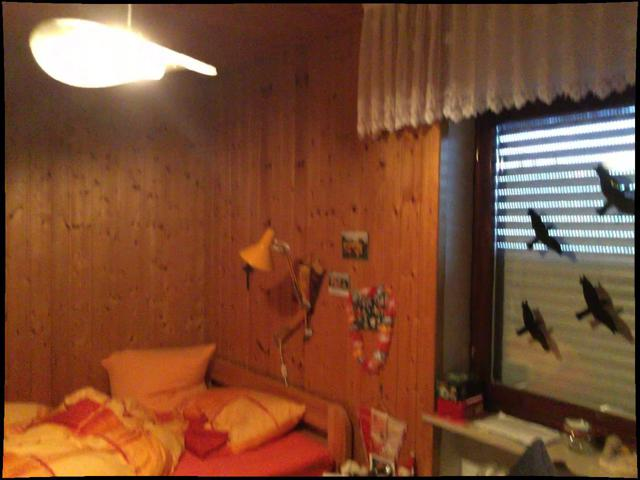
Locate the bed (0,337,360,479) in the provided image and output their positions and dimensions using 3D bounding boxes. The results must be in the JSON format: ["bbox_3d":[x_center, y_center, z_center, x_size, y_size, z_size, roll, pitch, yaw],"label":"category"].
[{"bbox_3d":[-1.169,1.081,2.510,2.239,0.781,1.499,-1,4,-38],"label":"bed"}]

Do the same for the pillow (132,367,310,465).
[{"bbox_3d":[-0.519,0.851,2.930,0.610,0.160,0.750,-1,4,-38],"label":"pillow"}]

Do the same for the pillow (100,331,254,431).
[{"bbox_3d":[-0.829,0.771,3.320,0.650,0.320,0.640,-1,4,-38],"label":"pillow"}]
